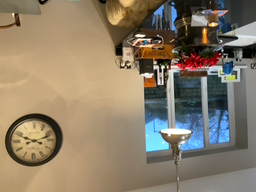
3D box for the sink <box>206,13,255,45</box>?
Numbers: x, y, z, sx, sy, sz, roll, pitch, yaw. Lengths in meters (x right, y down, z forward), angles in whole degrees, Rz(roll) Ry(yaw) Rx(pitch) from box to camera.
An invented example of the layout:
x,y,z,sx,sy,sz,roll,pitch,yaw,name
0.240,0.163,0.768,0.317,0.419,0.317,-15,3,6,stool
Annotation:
x,y,z,sx,sy,sz,roll,pitch,yaw,name
1.460,-0.870,2.820,0.610,0.240,0.500,-2,-179,-18,sink
